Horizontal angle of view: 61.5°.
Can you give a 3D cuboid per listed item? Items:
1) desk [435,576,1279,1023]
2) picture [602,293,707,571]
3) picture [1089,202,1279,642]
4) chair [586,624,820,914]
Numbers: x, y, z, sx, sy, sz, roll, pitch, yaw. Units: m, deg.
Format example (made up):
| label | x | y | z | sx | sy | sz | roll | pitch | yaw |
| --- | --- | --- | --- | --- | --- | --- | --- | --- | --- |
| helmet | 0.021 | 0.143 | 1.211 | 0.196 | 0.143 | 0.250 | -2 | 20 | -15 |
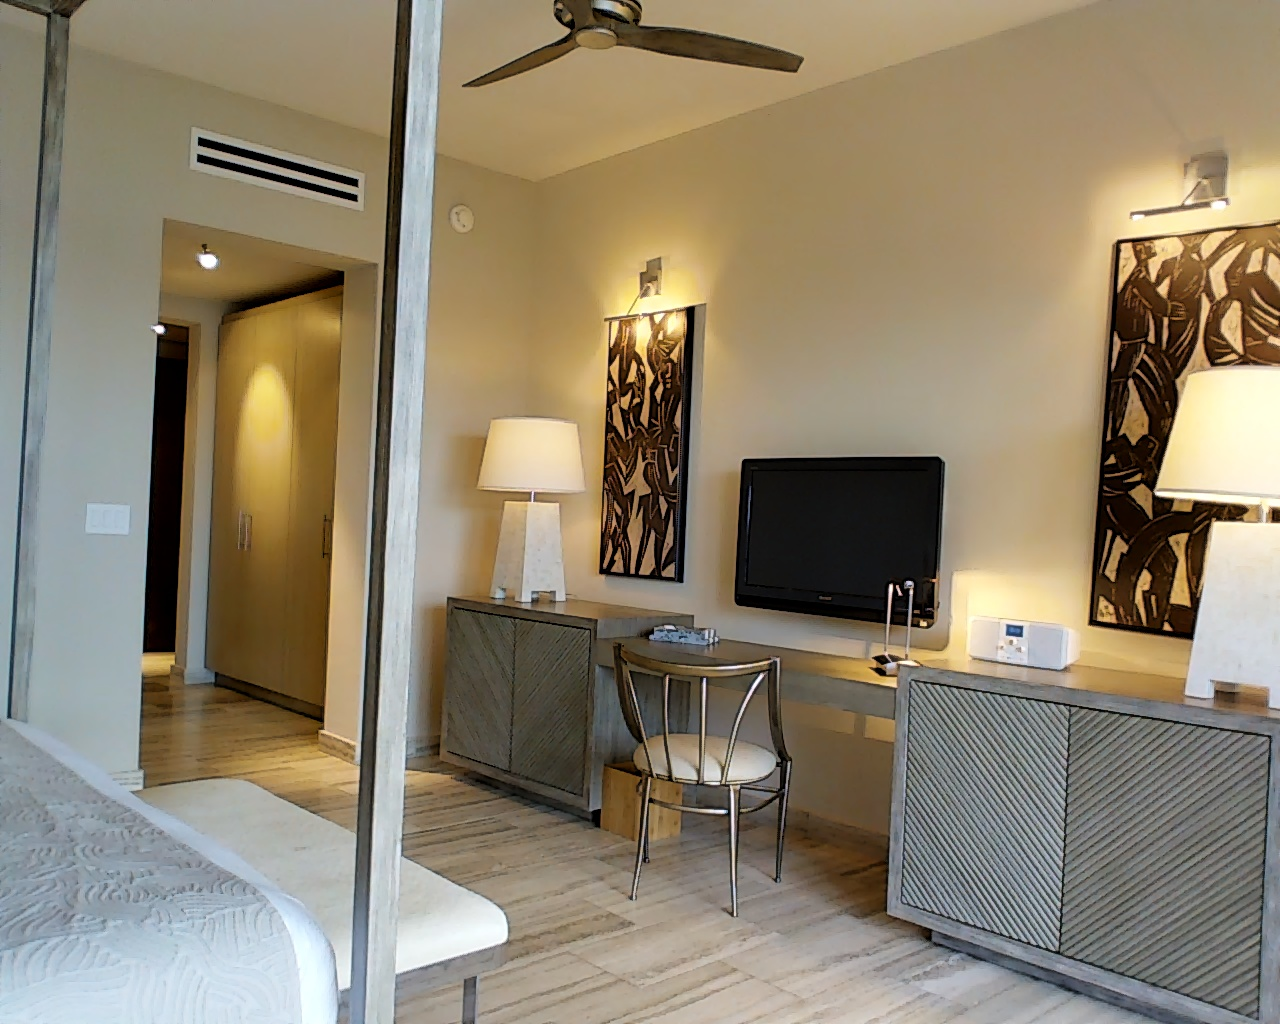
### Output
| label | x | y | z | sx | sy | sz | roll | pitch | yaw |
| --- | --- | --- | --- | --- | --- | --- | --- | --- | --- |
| desk | 0.530 | 0.820 | 4.060 | 0.730 | 0.900 | 3.580 | 2 | 0 | -43 |
| picture | 0.060 | -0.370 | 5.120 | 0.070 | 1.260 | 0.580 | 2 | 0 | -42 |
| picture | 1.720 | -0.270 | 3.330 | 0.070 | 1.280 | 0.590 | 2 | 0 | -42 |
| chair | 0.230 | 0.820 | 3.650 | 0.610 | 0.790 | 0.570 | 2 | 0 | 22 |
